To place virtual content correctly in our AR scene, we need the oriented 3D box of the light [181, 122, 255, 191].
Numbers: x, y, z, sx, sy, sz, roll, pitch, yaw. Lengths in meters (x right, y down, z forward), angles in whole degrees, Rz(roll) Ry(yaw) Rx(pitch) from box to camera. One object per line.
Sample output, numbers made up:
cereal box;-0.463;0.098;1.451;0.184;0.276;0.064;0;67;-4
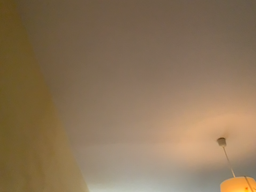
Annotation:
light;0.840;0.640;1.710;0.610;0.460;0.380;-52;-142;-9
